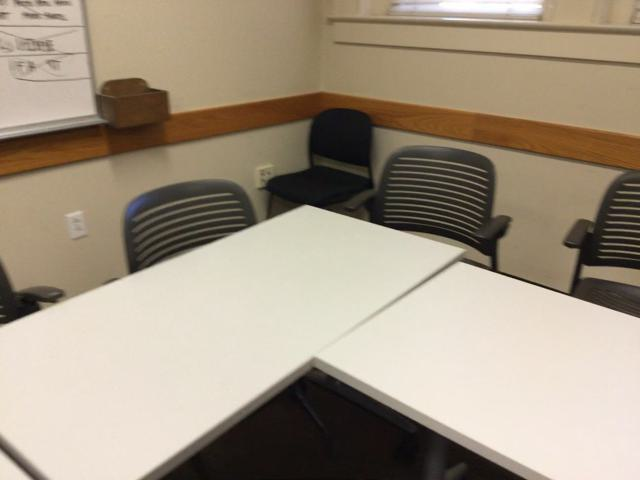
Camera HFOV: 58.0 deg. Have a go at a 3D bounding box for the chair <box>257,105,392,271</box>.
[{"bbox_3d":[0.010,-0.310,3.130,0.490,0.730,0.490,22,28,39],"label":"chair"}]

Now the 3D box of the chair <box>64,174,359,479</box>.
[{"bbox_3d":[-0.300,0.290,1.700,0.500,0.790,0.600,22,28,39],"label":"chair"}]

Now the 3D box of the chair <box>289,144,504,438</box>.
[{"bbox_3d":[0.290,0.130,2.120,0.630,0.850,0.570,7,17,17],"label":"chair"}]
